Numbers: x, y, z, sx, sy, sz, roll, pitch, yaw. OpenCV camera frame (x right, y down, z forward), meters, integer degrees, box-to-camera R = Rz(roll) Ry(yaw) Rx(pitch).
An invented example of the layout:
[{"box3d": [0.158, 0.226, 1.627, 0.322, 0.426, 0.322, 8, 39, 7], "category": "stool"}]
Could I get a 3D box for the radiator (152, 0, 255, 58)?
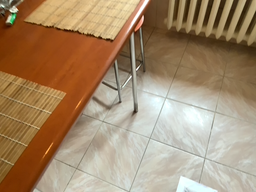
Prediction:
[{"box3d": [0.660, -0.700, 1.650, 0.870, 0.630, 0.260, 15, 57, 14], "category": "radiator"}]
